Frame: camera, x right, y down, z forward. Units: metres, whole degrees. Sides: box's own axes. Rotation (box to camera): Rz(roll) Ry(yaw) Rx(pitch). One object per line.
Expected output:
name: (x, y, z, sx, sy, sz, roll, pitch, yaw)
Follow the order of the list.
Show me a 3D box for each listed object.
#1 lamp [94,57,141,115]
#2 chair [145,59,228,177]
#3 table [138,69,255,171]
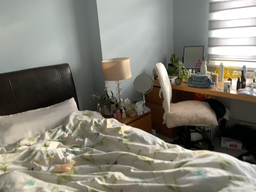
lamp: (-0.110, -0.130, 2.290, 0.320, 0.530, 0.340, -19, 23, -41)
chair: (0.560, 0.180, 2.160, 0.660, 1.010, 0.570, 0, 17, 13)
table: (0.930, 0.150, 2.610, 0.710, 0.740, 1.480, -19, 23, -41)
